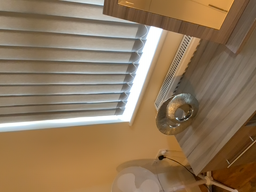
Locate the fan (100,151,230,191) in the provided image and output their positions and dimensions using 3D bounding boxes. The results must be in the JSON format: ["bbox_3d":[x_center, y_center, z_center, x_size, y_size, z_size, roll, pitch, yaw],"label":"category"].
[{"bbox_3d":[0.310,0.820,1.840,0.380,0.980,0.420,111,149,-44],"label":"fan"}]
